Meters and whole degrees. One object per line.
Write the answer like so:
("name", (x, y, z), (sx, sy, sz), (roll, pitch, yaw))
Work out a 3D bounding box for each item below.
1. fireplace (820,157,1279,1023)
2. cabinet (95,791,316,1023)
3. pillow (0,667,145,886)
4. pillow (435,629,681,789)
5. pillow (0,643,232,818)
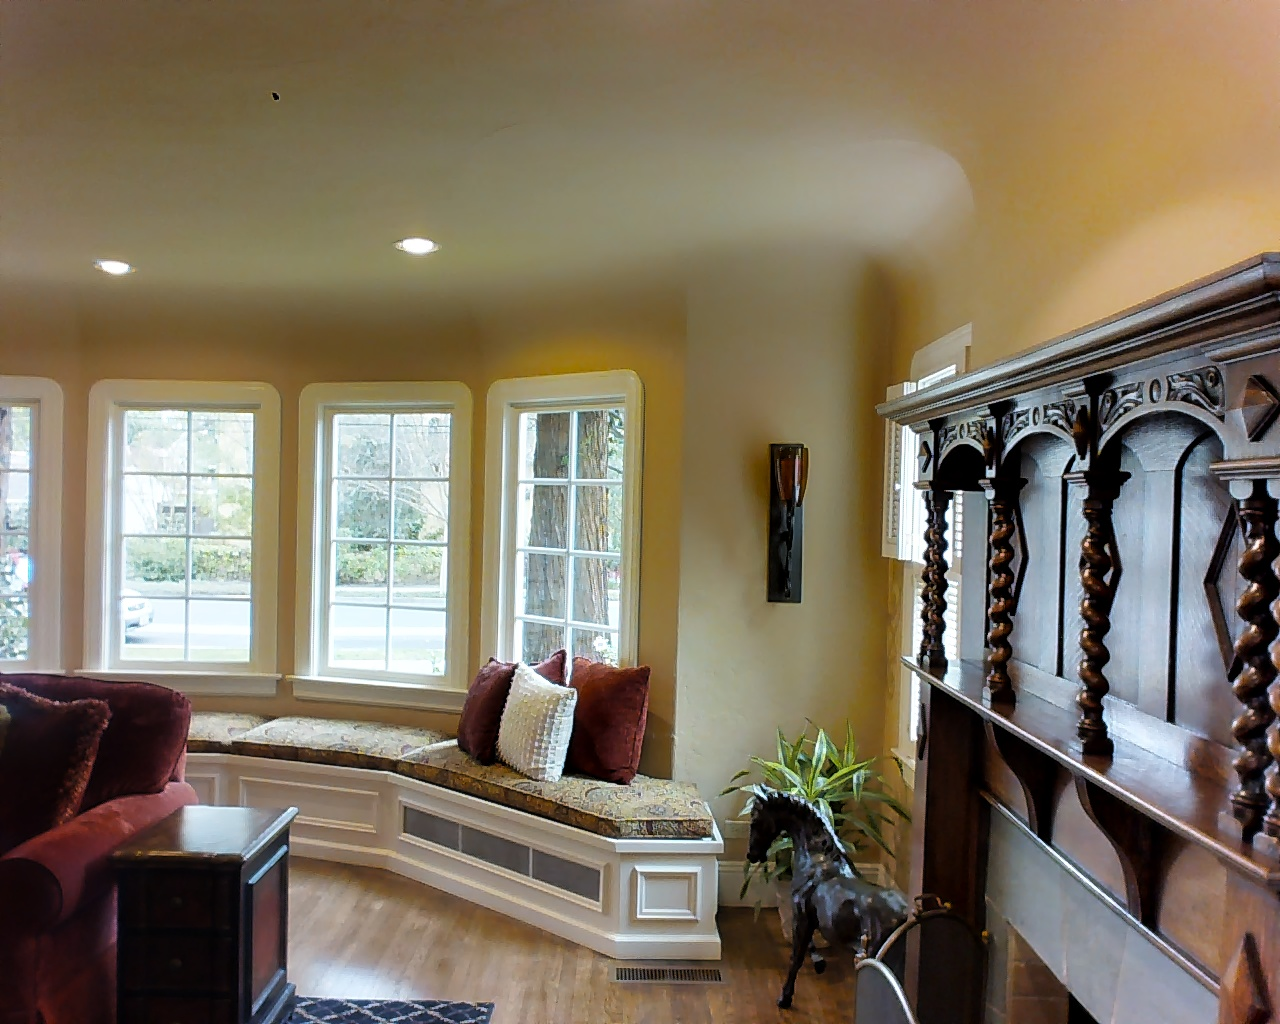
("fireplace", (0.730, 0.610, 1.760), (0.580, 1.860, 1.570), (1, 0, 0))
("cabinet", (-1.180, 1.180, 2.980), (0.400, 0.670, 0.510), (1, 0, 0))
("pillow", (-1.710, 0.740, 3.080), (0.560, 0.440, 0.210), (9, 16, 29))
("pillow", (-0.360, 0.770, 4.410), (0.450, 0.450, 1.010), (1, 1, -45))
("pillow", (-1.860, 0.670, 3.360), (1.010, 0.400, 0.350), (1, 17, 0))
